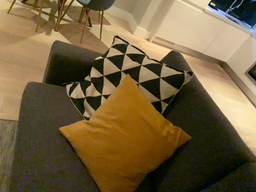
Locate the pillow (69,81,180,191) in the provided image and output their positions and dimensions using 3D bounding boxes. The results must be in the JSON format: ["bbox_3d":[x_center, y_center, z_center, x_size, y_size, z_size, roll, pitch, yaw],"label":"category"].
[{"bbox_3d":[-0.020,0.210,1.020,0.490,0.490,0.150,-5,-15,25],"label":"pillow"}]
